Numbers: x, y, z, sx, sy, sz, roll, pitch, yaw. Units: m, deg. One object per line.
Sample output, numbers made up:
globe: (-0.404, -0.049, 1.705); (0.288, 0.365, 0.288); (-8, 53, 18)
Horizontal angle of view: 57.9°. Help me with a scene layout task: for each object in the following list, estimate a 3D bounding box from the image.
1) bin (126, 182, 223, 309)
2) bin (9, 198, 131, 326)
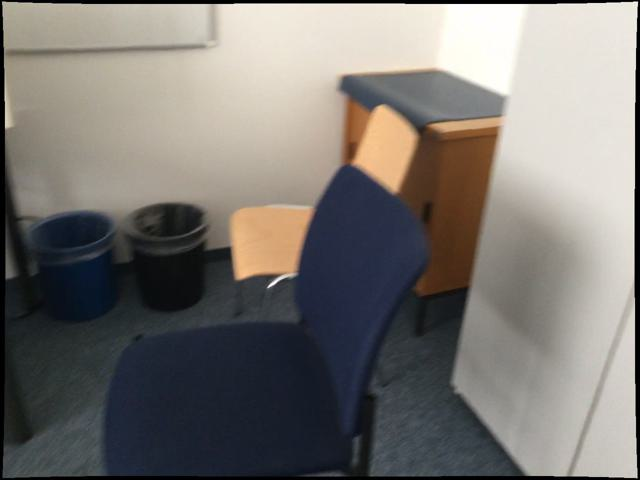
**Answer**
bin: (-0.559, 0.010, 2.210); (0.290, 0.310, 0.350); (-9, 33, -17)
bin: (-0.899, 0.070, 2.120); (0.340, 0.300, 0.310); (-9, 33, -17)
